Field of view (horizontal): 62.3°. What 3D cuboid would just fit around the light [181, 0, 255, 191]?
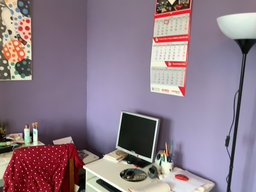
[{"bbox_3d":[0.550,0.480,1.180,0.400,1.970,0.320,-5,11,-42],"label":"light"}]

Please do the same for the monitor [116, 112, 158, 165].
[{"bbox_3d":[0.060,0.320,1.680,0.380,0.350,0.050,2,3,41],"label":"monitor"}]
